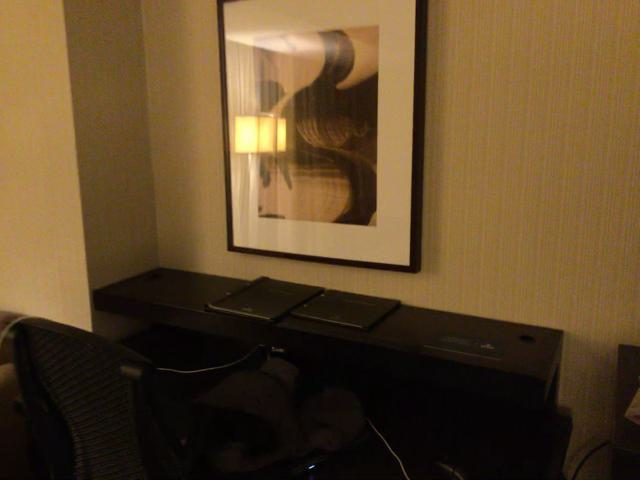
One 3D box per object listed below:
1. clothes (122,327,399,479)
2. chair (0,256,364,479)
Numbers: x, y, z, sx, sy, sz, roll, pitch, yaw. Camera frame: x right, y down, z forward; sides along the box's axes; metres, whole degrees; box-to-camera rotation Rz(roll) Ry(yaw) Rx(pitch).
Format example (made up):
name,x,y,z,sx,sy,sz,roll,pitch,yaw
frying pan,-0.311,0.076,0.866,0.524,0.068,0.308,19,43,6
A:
name,x,y,z,sx,sy,sz,roll,pitch,yaw
clothes,-0.090,0.410,1.310,0.340,0.220,0.590,4,11,29
chair,-0.330,0.650,1.520,0.650,1.060,0.710,4,11,29
